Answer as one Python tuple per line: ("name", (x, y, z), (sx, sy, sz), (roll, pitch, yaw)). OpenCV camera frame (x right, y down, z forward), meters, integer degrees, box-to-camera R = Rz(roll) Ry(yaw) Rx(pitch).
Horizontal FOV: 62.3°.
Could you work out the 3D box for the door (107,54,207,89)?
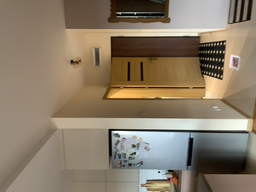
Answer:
("door", (0.620, -0.570, 4.760), (0.100, 2.120, 0.910), (90, -179, -58))
